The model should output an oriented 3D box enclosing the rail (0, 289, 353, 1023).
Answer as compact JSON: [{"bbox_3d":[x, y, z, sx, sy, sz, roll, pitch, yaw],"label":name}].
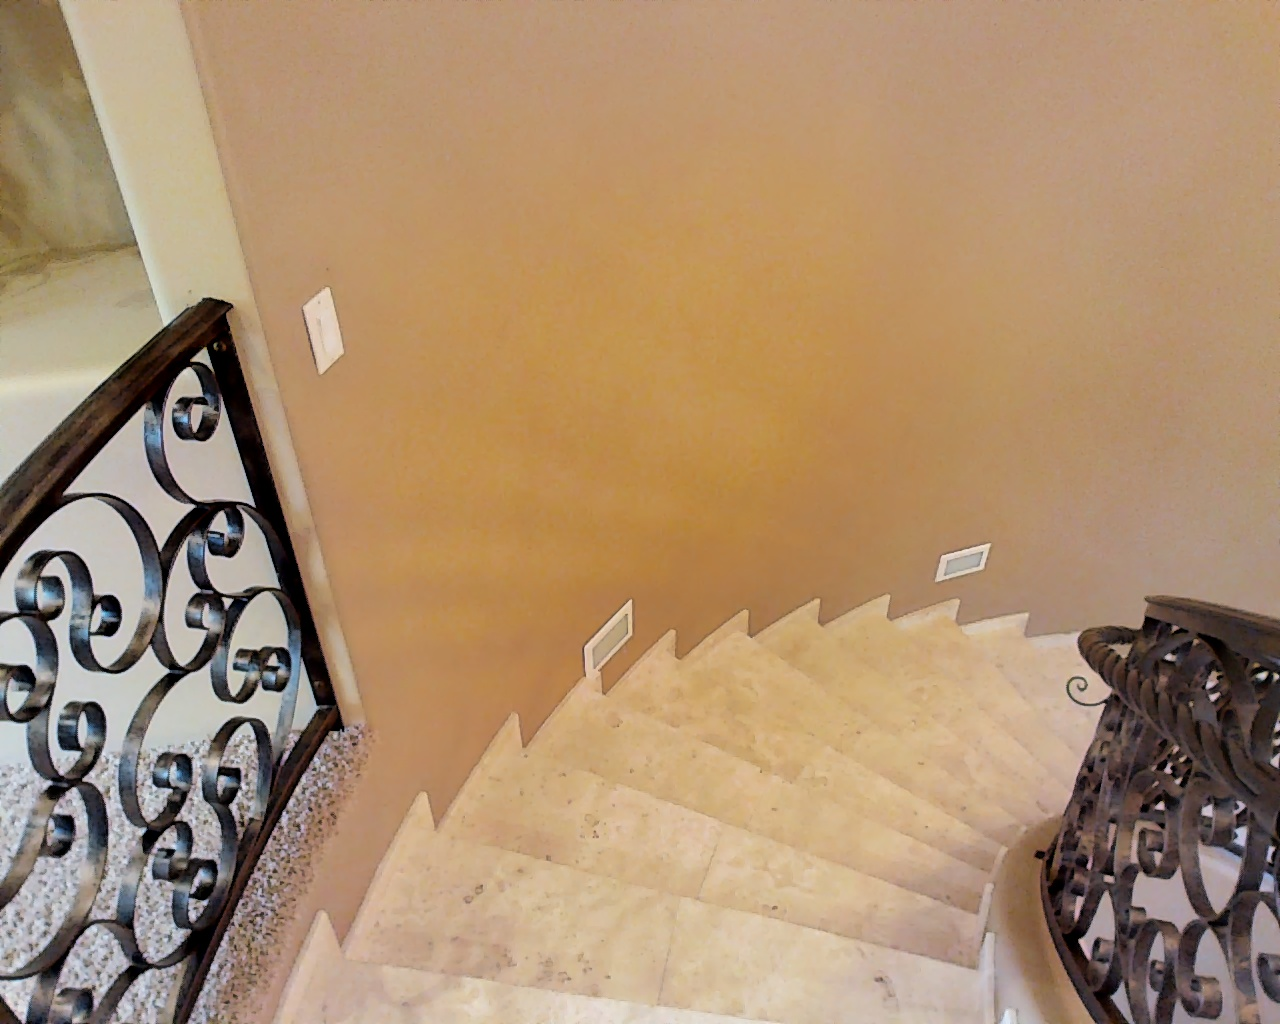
[{"bbox_3d":[-0.660,0.330,1.400,0.110,0.940,0.830,4,39,7],"label":"rail"}]
